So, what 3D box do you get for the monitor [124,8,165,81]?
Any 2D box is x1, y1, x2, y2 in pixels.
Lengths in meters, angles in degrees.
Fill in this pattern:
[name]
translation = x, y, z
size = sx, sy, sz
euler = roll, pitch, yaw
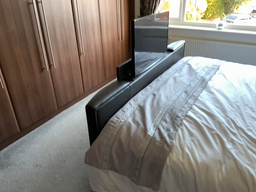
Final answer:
[monitor]
translation = 0.170, -0.500, 1.920
size = 0.060, 0.490, 0.730
euler = 13, 31, 24
